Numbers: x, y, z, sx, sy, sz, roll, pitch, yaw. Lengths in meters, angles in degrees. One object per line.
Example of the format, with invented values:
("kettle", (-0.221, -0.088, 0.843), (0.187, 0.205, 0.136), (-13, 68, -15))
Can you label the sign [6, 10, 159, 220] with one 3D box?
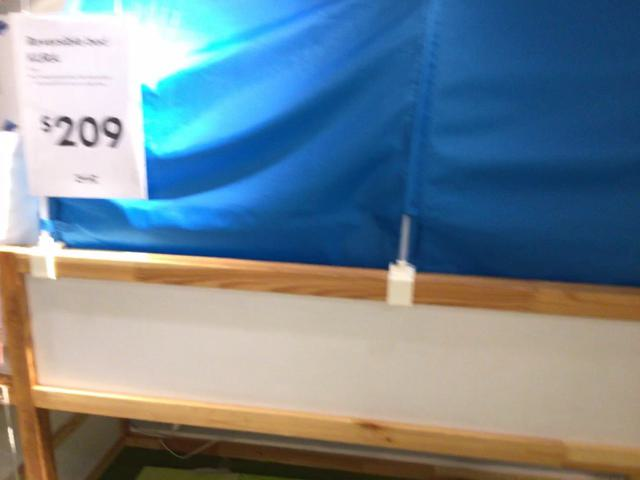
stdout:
("sign", (-0.400, -0.210, 0.990), (0.230, 0.330, 0.050), (6, 17, 7))
